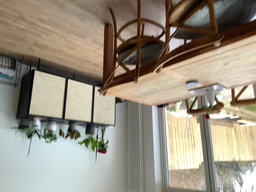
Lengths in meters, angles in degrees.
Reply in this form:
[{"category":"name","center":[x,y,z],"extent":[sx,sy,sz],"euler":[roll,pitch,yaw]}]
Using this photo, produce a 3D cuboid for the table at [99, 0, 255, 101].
[{"category":"table","center":[0.570,-0.530,1.950],"extent":[0.870,0.750,1.600],"euler":[13,160,-42]}]
